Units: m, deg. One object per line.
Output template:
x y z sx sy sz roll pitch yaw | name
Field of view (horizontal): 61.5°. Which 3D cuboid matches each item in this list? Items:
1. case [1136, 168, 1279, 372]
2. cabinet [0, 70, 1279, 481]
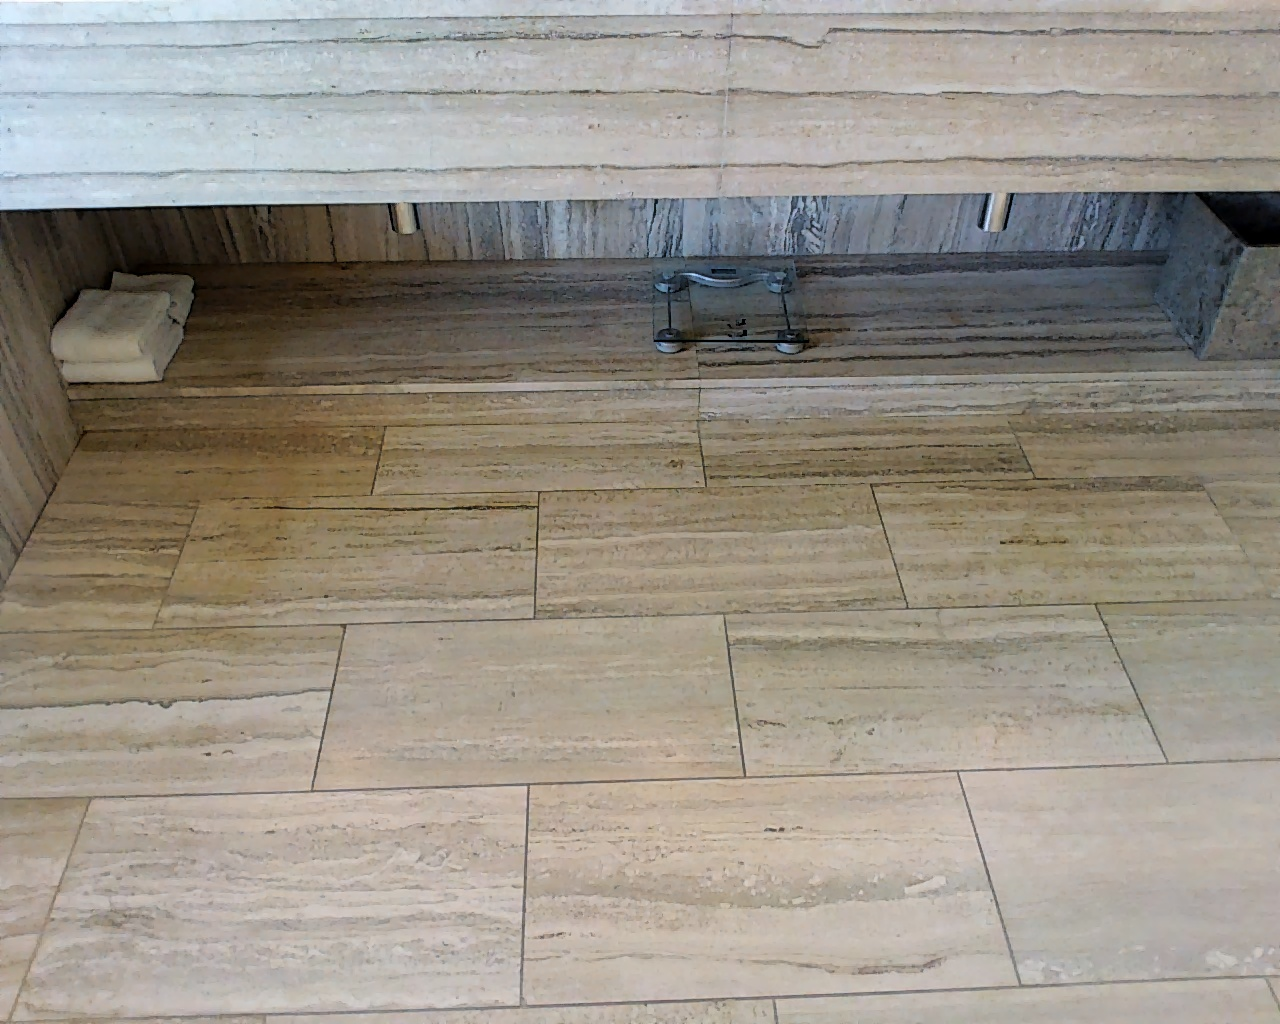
1.210 -0.490 2.150 0.220 0.230 0.390 -1 43 -1 | case
0.140 -0.470 2.040 2.410 0.460 0.630 -2 43 -2 | cabinet
